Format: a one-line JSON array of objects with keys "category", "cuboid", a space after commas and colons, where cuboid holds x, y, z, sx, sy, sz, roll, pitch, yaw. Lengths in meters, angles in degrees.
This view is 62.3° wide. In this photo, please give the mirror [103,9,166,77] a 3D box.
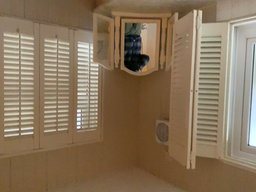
[{"category": "mirror", "cuboid": [0.050, -0.480, 2.040, 0.540, 0.560, 0.340, 1, -177, -2]}]
